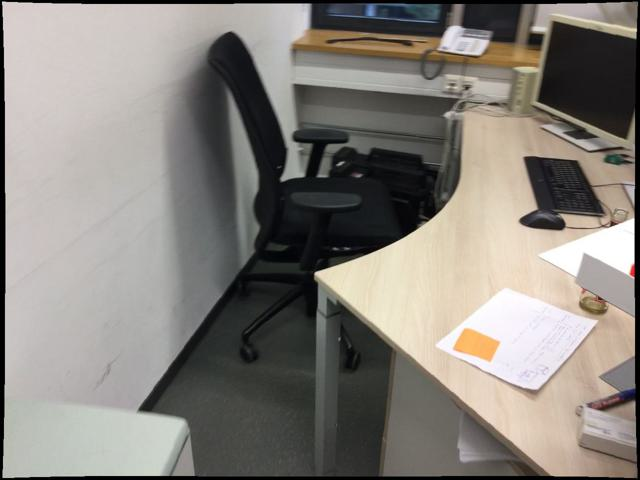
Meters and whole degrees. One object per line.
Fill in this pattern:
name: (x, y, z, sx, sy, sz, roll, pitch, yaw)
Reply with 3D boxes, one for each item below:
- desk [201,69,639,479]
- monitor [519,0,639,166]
desk: (0.699, 0.140, 1.890, 1.239, 0.791, 2.230, 8, 31, 13)
monitor: (1.049, -0.611, 2.150, 0.250, 0.470, 0.560, -8, 31, -14)
